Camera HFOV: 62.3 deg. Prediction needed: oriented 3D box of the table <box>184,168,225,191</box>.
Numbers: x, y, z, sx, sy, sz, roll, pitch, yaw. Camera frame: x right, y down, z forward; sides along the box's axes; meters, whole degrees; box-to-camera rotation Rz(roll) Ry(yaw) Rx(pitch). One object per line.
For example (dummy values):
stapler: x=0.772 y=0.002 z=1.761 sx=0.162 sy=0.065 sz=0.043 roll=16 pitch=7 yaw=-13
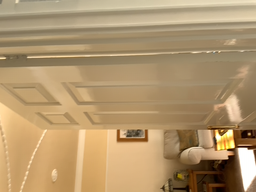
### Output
table: x=1.270 y=1.560 z=3.580 sx=0.520 sy=0.520 sz=0.640 roll=77 pitch=-167 yaw=-72
